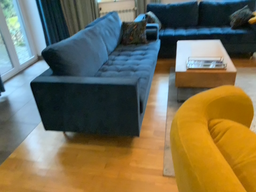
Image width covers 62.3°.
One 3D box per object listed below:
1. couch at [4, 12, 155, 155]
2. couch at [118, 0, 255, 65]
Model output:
[{"bbox_3d":[-0.250,-0.390,2.680,1.050,0.900,2.090,2,30,11],"label":"couch"},{"bbox_3d":[1.070,-1.170,3.890,2.300,0.900,0.950,1,30,10],"label":"couch"}]
